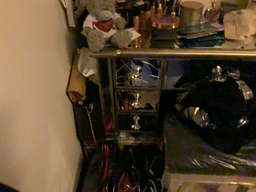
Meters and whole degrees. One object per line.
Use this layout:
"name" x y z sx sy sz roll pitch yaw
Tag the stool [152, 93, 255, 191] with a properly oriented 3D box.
"stool" 0.380 0.310 1.080 0.460 0.470 0.440 1 39 2
